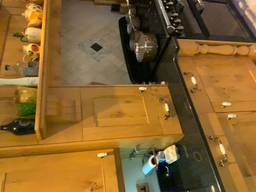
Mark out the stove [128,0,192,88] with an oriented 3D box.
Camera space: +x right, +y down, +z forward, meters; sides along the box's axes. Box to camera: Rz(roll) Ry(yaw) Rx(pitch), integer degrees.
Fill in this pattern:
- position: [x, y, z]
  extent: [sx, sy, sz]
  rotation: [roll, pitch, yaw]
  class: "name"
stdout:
- position: [0.240, -0.730, 2.140]
  extent: [0.700, 0.170, 1.080]
  rotation: [112, 152, -55]
  class: "stove"
